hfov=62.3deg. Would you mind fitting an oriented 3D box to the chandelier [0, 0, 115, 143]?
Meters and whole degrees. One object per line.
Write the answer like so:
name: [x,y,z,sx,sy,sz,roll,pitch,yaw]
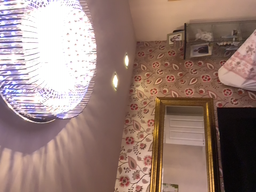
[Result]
chandelier: [-0.340,-0.290,1.230,0.810,0.240,0.740,-76,161,-47]
